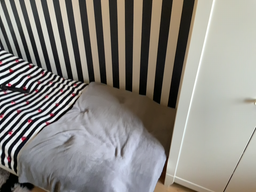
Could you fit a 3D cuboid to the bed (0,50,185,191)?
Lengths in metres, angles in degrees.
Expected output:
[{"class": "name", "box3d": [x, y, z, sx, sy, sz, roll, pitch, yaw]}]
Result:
[{"class": "bed", "box3d": [-0.720, 0.200, 1.810, 2.110, 0.430, 1.020, 16, 39, 20]}]
